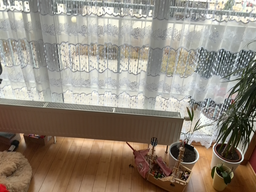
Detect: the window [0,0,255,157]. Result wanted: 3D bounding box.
[{"bbox_3d":[-0.650,-0.630,1.500,3.520,2.290,0.230,5,31,1],"label":"window"}]
